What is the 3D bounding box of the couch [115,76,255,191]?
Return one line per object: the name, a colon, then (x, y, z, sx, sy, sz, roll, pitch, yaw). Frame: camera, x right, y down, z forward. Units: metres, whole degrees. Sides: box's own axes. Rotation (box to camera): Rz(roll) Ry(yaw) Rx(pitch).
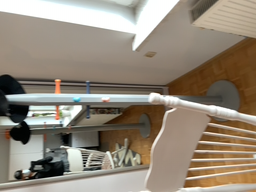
couch: (0.680, 0.410, 0.940, 0.930, 1.150, 0.620, -129, 46, -54)
